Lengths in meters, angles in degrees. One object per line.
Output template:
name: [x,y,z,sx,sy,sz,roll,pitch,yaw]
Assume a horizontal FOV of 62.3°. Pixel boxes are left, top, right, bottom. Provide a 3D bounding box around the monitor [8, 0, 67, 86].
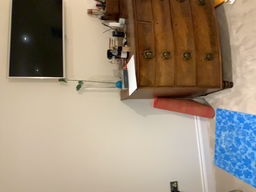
monitor: [-0.860,-0.530,2.010,0.040,0.450,0.850,147,116,-71]
